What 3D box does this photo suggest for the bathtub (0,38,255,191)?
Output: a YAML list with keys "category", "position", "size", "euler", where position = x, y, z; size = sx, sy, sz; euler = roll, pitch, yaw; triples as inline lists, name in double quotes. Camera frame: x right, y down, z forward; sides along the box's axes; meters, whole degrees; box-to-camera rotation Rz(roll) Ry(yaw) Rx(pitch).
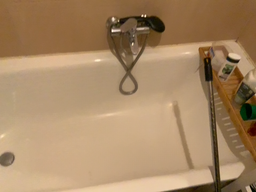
- category: "bathtub"
  position: [-0.130, 0.220, 1.170]
  size: [1.670, 0.610, 0.770]
  euler: [-6, 55, -9]
